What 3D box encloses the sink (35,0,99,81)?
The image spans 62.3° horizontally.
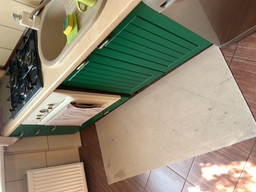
[{"bbox_3d":[-0.410,-0.390,1.370,0.320,0.210,0.470,-31,65,39],"label":"sink"}]
